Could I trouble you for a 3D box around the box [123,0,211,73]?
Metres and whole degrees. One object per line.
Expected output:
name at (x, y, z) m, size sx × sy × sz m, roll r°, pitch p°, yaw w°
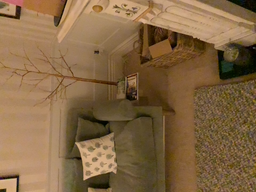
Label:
box at (0.330, -0.580, 2.100) m, size 0.810 × 0.390 × 0.470 m, roll -17°, pitch 72°, yaw 58°
